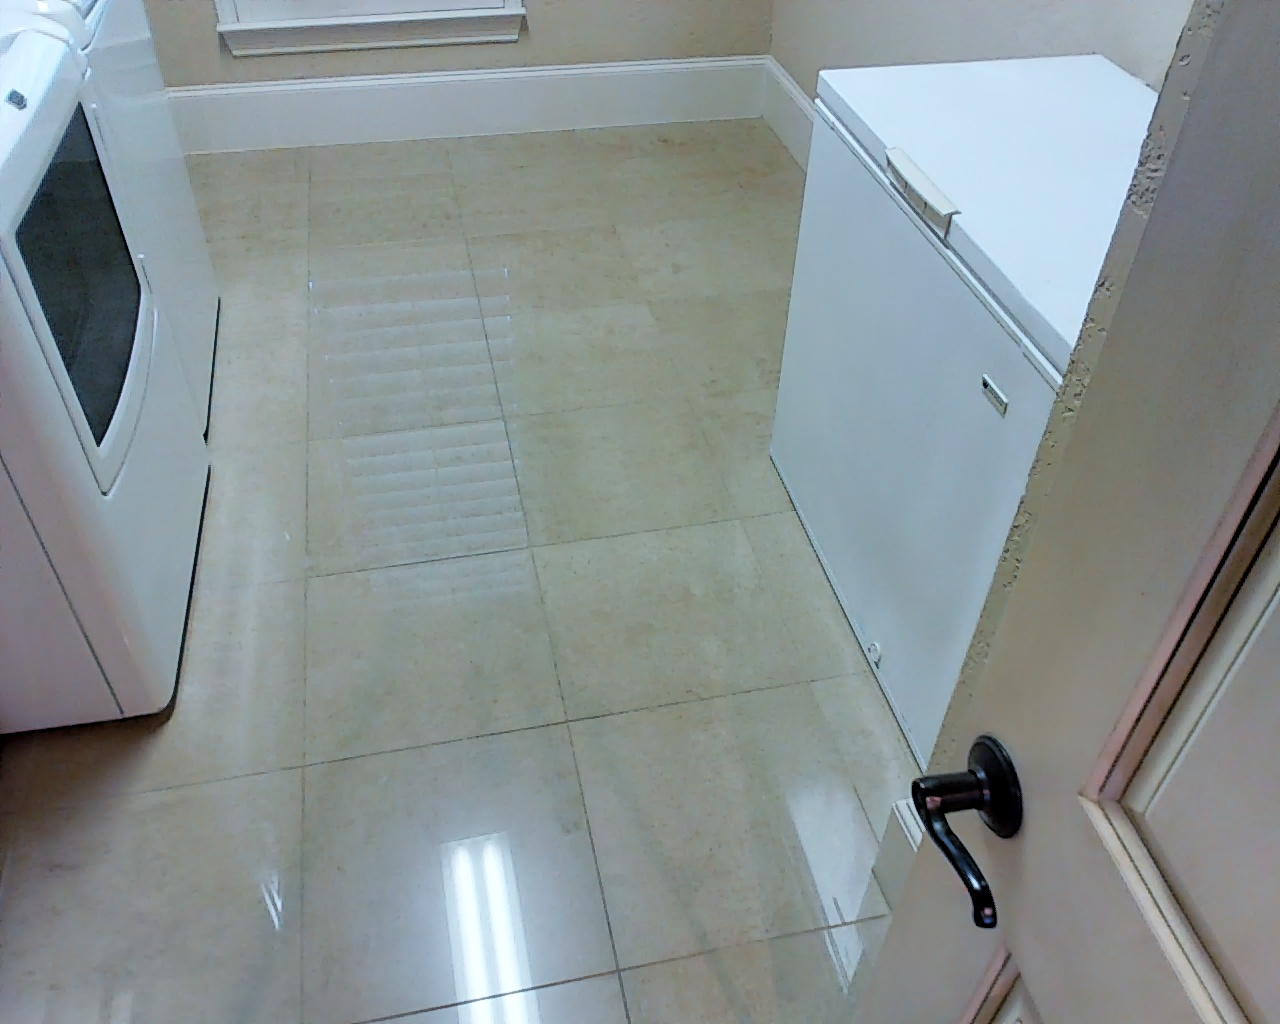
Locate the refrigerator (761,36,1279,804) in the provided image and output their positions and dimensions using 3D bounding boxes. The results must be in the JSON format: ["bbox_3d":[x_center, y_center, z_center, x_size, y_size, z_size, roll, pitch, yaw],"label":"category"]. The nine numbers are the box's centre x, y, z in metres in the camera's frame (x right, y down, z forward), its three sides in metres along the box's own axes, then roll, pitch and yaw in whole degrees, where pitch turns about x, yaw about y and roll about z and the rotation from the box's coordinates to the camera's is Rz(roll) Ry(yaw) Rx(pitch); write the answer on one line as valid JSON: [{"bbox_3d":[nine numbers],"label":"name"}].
[{"bbox_3d":[0.690,-0.190,1.900,0.620,0.930,0.920,-8,43,-10],"label":"refrigerator"}]
